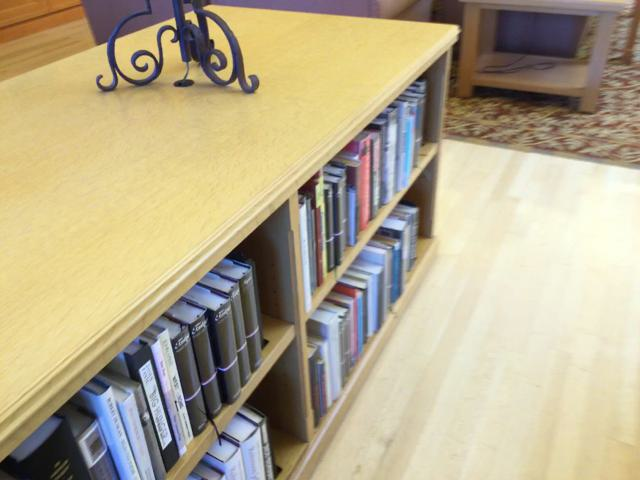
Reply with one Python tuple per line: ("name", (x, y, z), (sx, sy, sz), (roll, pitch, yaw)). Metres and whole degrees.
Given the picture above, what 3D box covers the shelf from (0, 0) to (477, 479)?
("shelf", (-0.560, 0.300, 0.890), (0.860, 0.870, 2.710), (14, 37, 22))
